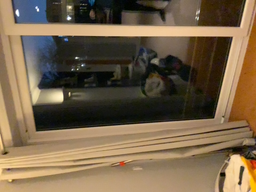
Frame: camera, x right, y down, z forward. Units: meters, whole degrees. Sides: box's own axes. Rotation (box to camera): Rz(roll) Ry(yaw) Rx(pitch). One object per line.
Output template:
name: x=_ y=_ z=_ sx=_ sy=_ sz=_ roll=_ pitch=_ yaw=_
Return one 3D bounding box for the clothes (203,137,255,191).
clothes: x=0.790 y=0.600 z=1.520 sx=0.430 sy=0.220 sz=0.410 roll=-115 pitch=25 yaw=-63
